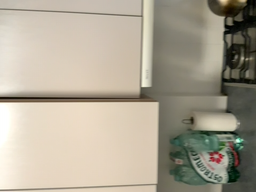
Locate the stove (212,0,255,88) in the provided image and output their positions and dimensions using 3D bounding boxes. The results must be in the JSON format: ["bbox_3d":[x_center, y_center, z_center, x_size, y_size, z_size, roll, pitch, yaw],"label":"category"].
[{"bbox_3d":[0.570,-0.360,0.990,0.560,0.040,0.630,-137,48,-82],"label":"stove"}]
